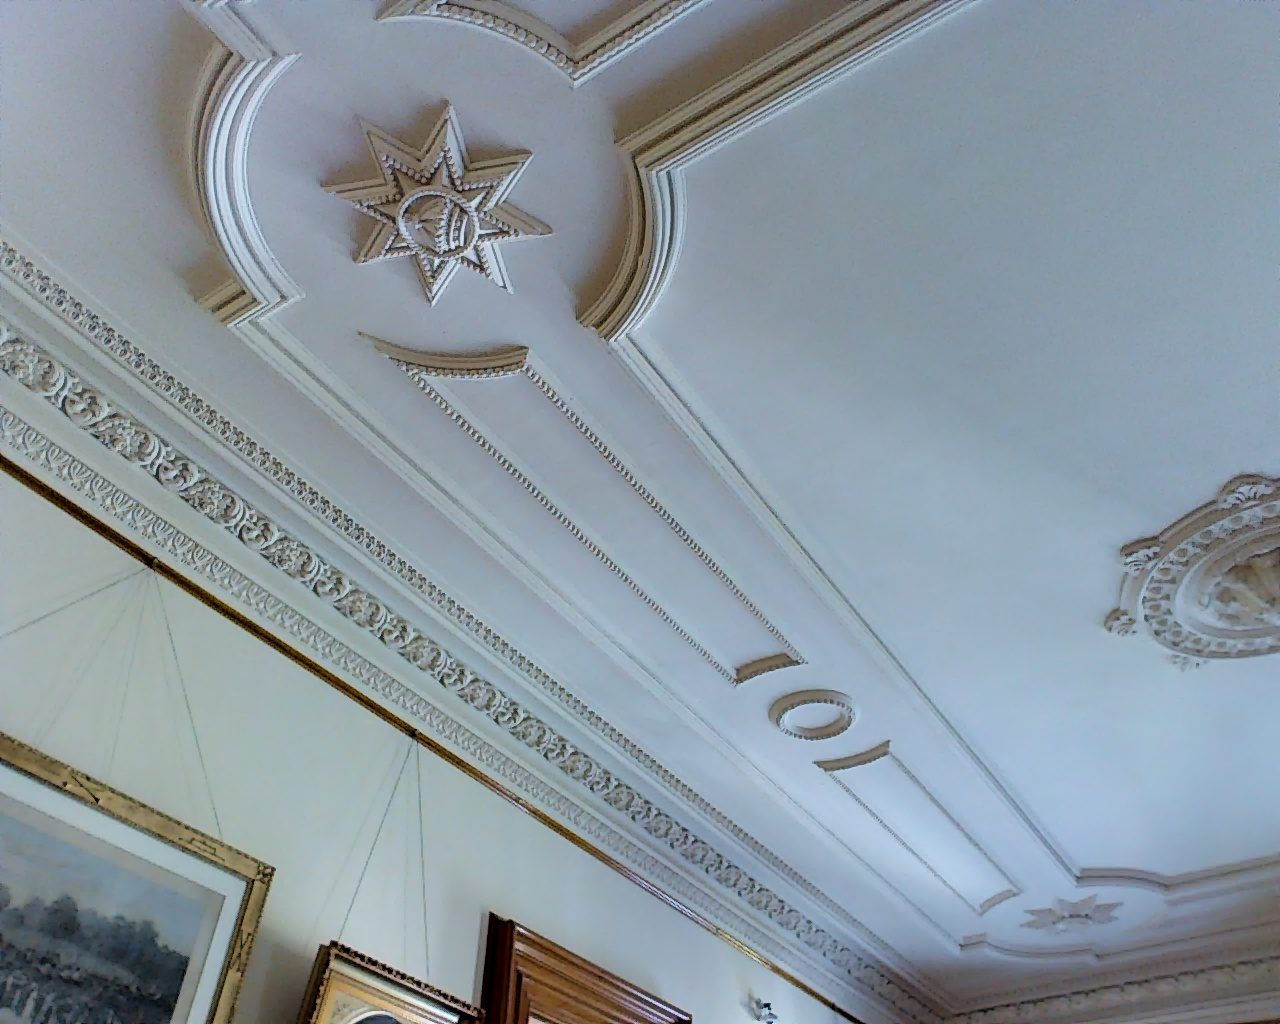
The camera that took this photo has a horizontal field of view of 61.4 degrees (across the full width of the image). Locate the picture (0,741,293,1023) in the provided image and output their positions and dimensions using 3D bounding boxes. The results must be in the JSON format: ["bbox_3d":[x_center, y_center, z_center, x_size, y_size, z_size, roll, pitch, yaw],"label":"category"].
[{"bbox_3d":[-1.589,1.140,2.780,0.100,0.910,1.500,-23,-48,24],"label":"picture"}]
